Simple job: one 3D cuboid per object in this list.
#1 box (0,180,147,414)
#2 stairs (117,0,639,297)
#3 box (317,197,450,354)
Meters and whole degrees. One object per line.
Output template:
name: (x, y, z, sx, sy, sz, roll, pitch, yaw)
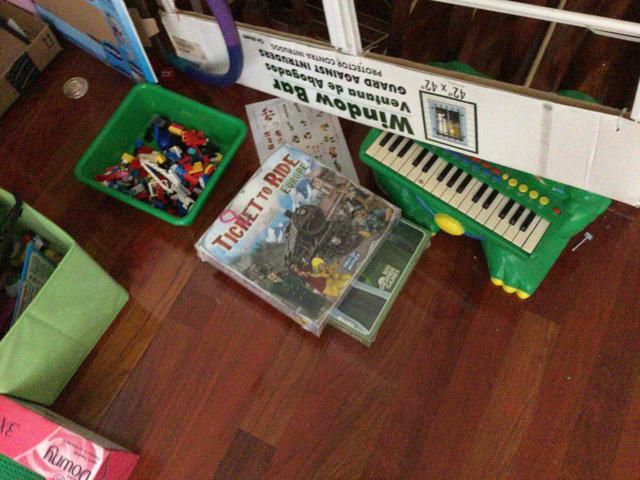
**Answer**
box: (-0.580, 0.090, 1.060, 0.320, 0.290, 0.300, 34, 75, 12)
stairs: (0.030, -0.370, 1.080, 1.200, 0.730, 0.150, 27, 73, 33)
box: (0.130, 0.070, 1.180, 0.120, 0.060, 0.300, 34, 75, 12)
